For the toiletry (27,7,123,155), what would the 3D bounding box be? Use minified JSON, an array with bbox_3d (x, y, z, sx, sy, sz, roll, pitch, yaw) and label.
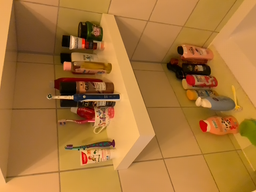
[{"bbox_3d":[-0.230,-0.070,0.800,0.270,0.250,0.470,114,148,-42],"label":"toiletry"}]
